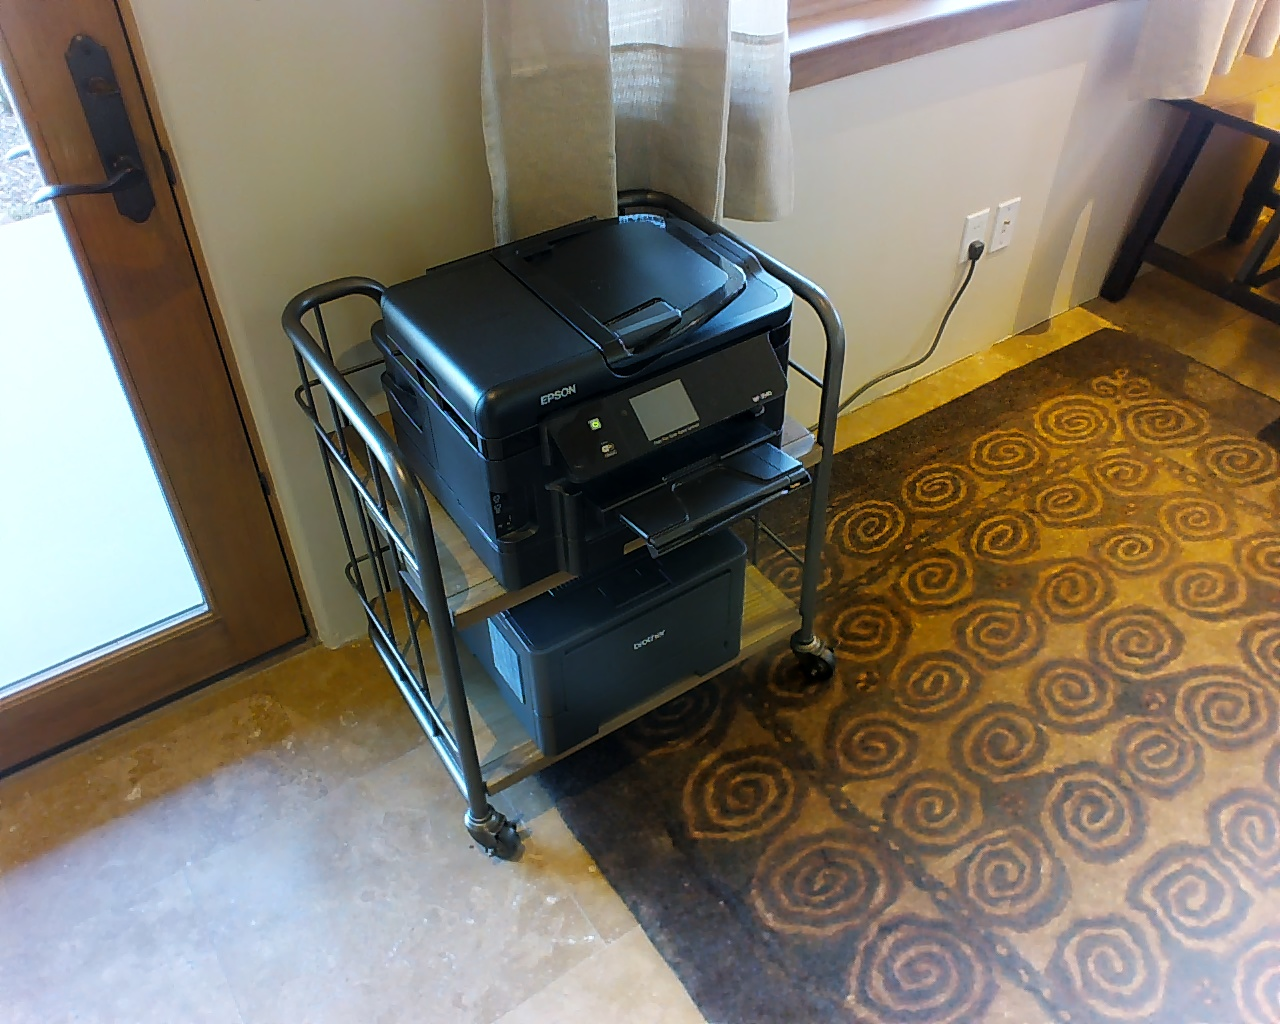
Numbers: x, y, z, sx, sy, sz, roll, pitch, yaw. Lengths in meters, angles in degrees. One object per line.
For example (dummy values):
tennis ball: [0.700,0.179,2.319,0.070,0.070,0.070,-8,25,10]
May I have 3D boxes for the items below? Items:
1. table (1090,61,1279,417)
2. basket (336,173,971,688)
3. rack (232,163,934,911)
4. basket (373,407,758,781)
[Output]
table: [1.630,-0.690,2.560,0.740,0.550,0.580,-25,48,-26]
basket: [0.000,-0.150,1.330,0.520,0.230,0.550,-25,48,-26]
rack: [-0.080,0.010,1.630,0.710,0.740,0.570,-25,48,-26]
basket: [-0.120,0.100,1.650,0.380,0.210,0.460,-25,48,-26]
